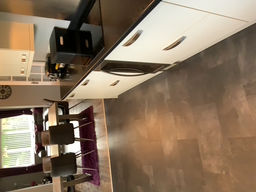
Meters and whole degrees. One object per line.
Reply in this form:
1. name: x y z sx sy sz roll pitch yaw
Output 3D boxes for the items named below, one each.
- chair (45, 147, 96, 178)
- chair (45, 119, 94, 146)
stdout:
1. chair: -1.210 1.380 4.460 0.510 0.910 0.440 -27 68 59
2. chair: -1.270 0.780 4.550 0.510 0.890 0.440 -27 68 59
